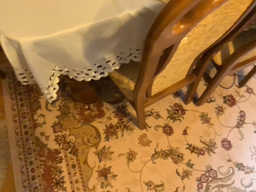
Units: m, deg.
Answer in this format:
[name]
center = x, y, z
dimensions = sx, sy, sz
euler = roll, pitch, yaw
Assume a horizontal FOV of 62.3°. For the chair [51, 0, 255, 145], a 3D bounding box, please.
[chair]
center = 0.050, -0.240, 0.890
dimensions = 0.460, 1.070, 0.580
euler = -32, 72, -10
